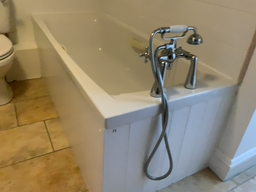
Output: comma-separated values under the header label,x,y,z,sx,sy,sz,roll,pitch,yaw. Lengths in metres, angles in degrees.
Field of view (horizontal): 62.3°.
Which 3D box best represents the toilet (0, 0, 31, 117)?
label,x,y,z,sx,sy,sz,roll,pitch,yaw
toilet,-1.070,-0.340,1.600,0.420,0.790,0.660,-13,36,-26
